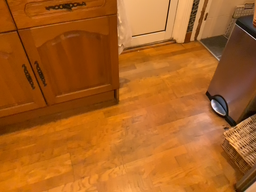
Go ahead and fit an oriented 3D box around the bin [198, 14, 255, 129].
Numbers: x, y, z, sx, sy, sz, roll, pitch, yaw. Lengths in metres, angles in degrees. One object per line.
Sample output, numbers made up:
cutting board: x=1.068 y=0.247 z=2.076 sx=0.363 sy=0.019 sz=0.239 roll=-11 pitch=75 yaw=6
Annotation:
bin: x=0.790 y=-0.150 z=1.450 sx=0.280 sy=0.630 sz=0.400 roll=-15 pitch=50 yaw=-15
